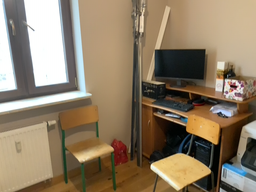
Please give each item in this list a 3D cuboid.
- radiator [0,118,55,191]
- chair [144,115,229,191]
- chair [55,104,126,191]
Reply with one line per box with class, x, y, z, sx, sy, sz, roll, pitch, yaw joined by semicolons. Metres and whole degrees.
radiator;-1.010;0.630;2.010;0.520;0.730;0.120;-12;18;-36
chair;0.470;0.640;1.800;0.540;0.780;0.390;-10;17;-31
chair;-0.380;0.560;2.190;0.490;0.780;0.510;-12;18;-36
